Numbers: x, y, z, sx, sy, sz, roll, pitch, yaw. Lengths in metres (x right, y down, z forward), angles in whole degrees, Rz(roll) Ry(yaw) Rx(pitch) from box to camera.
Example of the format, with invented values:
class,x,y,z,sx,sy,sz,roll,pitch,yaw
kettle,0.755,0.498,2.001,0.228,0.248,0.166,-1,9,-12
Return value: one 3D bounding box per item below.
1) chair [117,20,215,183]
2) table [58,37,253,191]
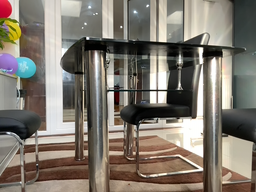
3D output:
class,x,y,z,sx,sy,sz,roll,pitch,yaw
chair,0.260,0.030,1.610,0.570,1.000,0.470,-1,2,-19
table,-0.020,0.170,1.330,0.730,0.740,1.210,-1,2,-15
